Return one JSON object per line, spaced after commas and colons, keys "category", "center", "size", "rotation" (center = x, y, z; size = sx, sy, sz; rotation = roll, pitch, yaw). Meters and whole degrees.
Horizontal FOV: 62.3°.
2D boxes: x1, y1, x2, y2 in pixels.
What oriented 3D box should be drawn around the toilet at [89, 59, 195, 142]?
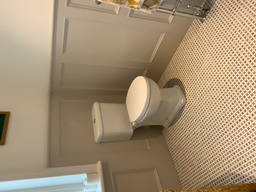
{"category": "toilet", "center": [0.080, 0.070, 2.050], "size": [0.670, 0.760, 0.420], "rotation": [115, 148, -45]}
